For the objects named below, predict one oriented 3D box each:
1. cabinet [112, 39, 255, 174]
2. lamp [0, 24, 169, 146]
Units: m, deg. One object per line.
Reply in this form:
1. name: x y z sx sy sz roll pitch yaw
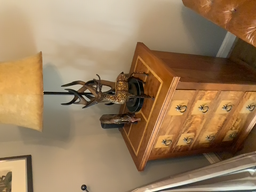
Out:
1. cabinet: 0.450 0.060 1.510 0.500 0.910 0.680 -122 39 -49
2. lamp: -0.310 -0.070 1.130 0.420 0.860 0.430 -125 42 -52
